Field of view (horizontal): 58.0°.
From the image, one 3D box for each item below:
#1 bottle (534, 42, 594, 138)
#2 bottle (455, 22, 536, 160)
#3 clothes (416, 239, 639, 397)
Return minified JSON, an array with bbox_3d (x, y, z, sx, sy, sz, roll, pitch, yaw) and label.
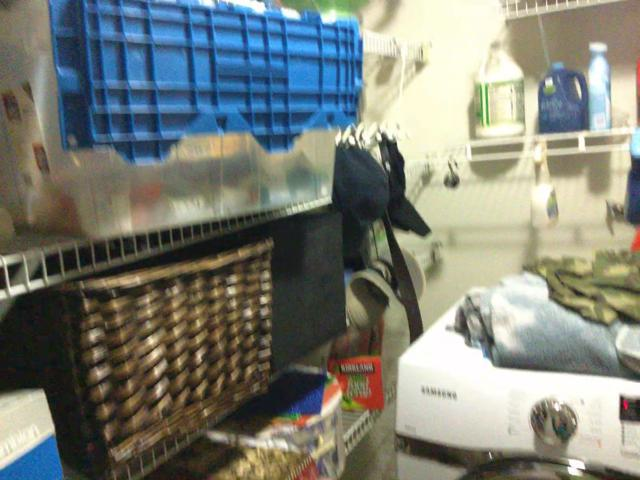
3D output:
[{"bbox_3d":[0.730,-0.440,1.720,0.140,0.250,0.170,1,12,30],"label":"bottle"},{"bbox_3d":[0.560,-0.460,1.830,0.200,0.390,0.170,1,12,30],"label":"bottle"},{"bbox_3d":[0.550,0.140,1.220,0.590,0.210,0.350,1,12,30],"label":"clothes"}]
